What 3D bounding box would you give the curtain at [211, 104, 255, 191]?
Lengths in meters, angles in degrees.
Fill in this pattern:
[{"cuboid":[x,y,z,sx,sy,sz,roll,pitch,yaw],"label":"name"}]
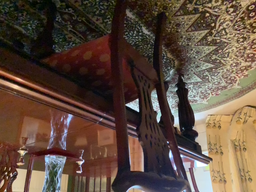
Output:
[{"cuboid":[1.430,1.320,2.140,0.620,2.500,0.240,-20,148,33],"label":"curtain"}]
